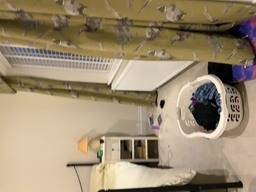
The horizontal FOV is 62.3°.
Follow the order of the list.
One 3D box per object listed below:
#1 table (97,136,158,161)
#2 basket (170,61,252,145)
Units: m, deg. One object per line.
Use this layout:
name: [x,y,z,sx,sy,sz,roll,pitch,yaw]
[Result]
table: [-0.030,0.770,3.150,0.580,0.780,0.320,141,132,-72]
basket: [0.620,0.080,1.740,0.700,0.260,0.550,158,115,-75]
